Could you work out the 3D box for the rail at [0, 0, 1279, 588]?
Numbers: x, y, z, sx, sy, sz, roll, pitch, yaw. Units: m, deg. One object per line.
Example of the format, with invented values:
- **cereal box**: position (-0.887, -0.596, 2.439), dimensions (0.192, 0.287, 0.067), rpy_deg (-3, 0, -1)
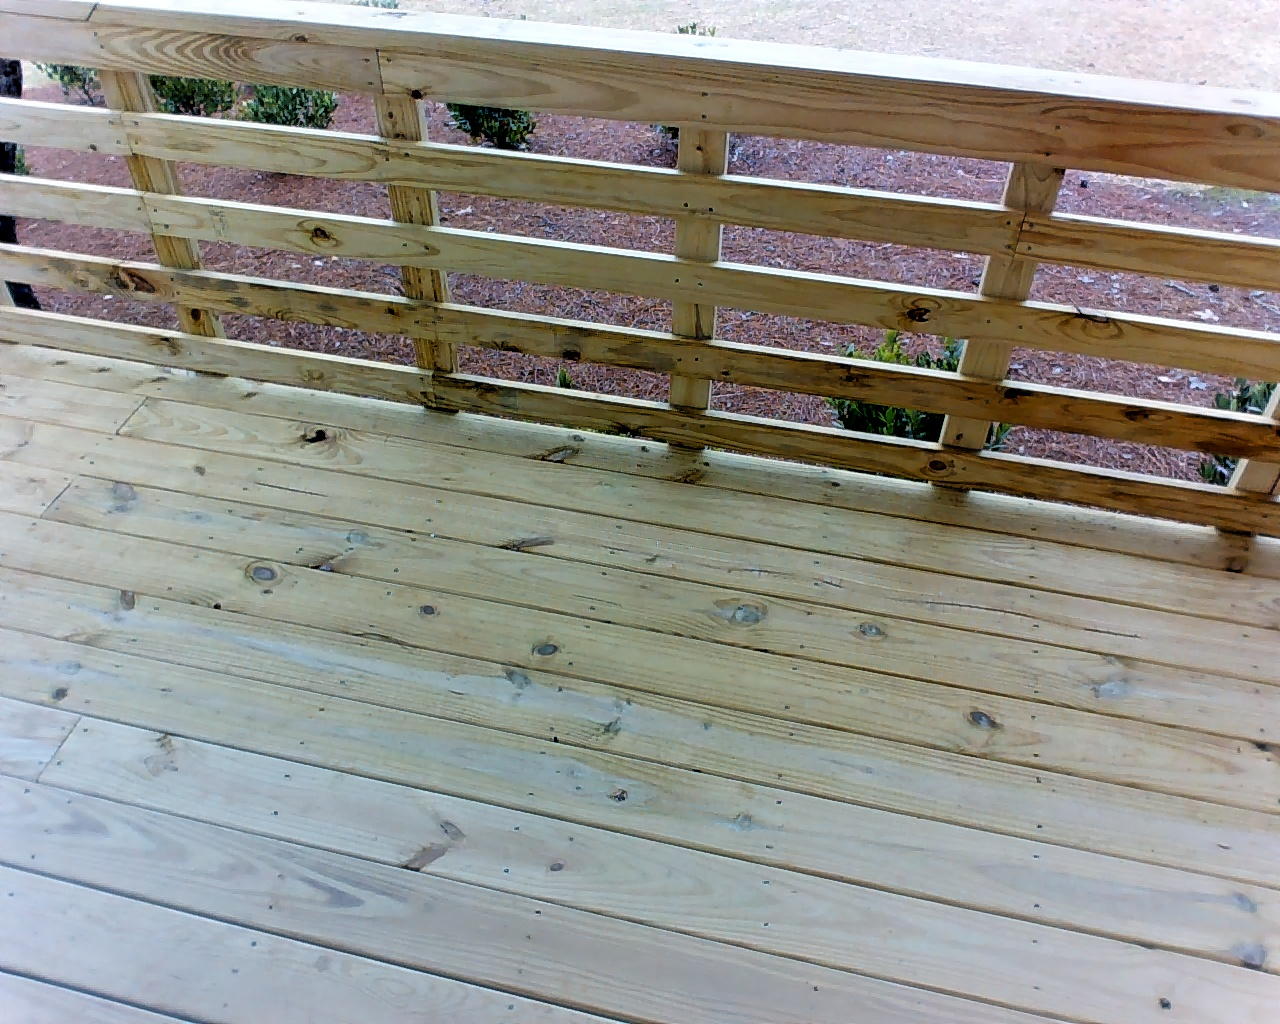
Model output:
- **rail**: position (0.970, -0.310, 1.960), dimensions (5.700, 0.980, 0.150), rpy_deg (9, 44, 10)
